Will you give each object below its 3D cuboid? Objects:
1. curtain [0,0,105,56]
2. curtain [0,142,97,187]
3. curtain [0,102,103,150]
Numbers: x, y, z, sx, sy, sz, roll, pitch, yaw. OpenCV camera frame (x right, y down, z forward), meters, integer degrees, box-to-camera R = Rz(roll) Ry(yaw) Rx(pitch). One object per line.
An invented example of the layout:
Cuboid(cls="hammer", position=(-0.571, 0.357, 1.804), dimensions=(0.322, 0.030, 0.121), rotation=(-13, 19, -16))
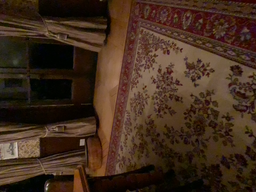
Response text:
Cuboid(cls="curtain", position=(-1.900, -0.910, 2.600), dimensions=(0.580, 3.130, 0.500), rotation=(-125, 40, -53))
Cuboid(cls="curtain", position=(-2.190, 1.200, 3.450), dimensions=(0.480, 3.310, 0.310), rotation=(-127, 42, -54))
Cuboid(cls="curtain", position=(-2.070, 0.470, 3.110), dimensions=(0.490, 3.350, 0.470), rotation=(-124, 39, -52))
